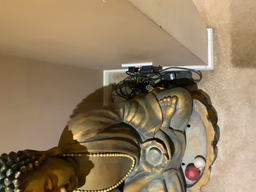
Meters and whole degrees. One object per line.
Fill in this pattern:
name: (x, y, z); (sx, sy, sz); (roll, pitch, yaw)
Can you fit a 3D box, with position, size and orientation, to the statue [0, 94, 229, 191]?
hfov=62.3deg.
statue: (0.010, 0.250, 0.770); (0.610, 0.810, 0.480); (-2, 90, 27)
